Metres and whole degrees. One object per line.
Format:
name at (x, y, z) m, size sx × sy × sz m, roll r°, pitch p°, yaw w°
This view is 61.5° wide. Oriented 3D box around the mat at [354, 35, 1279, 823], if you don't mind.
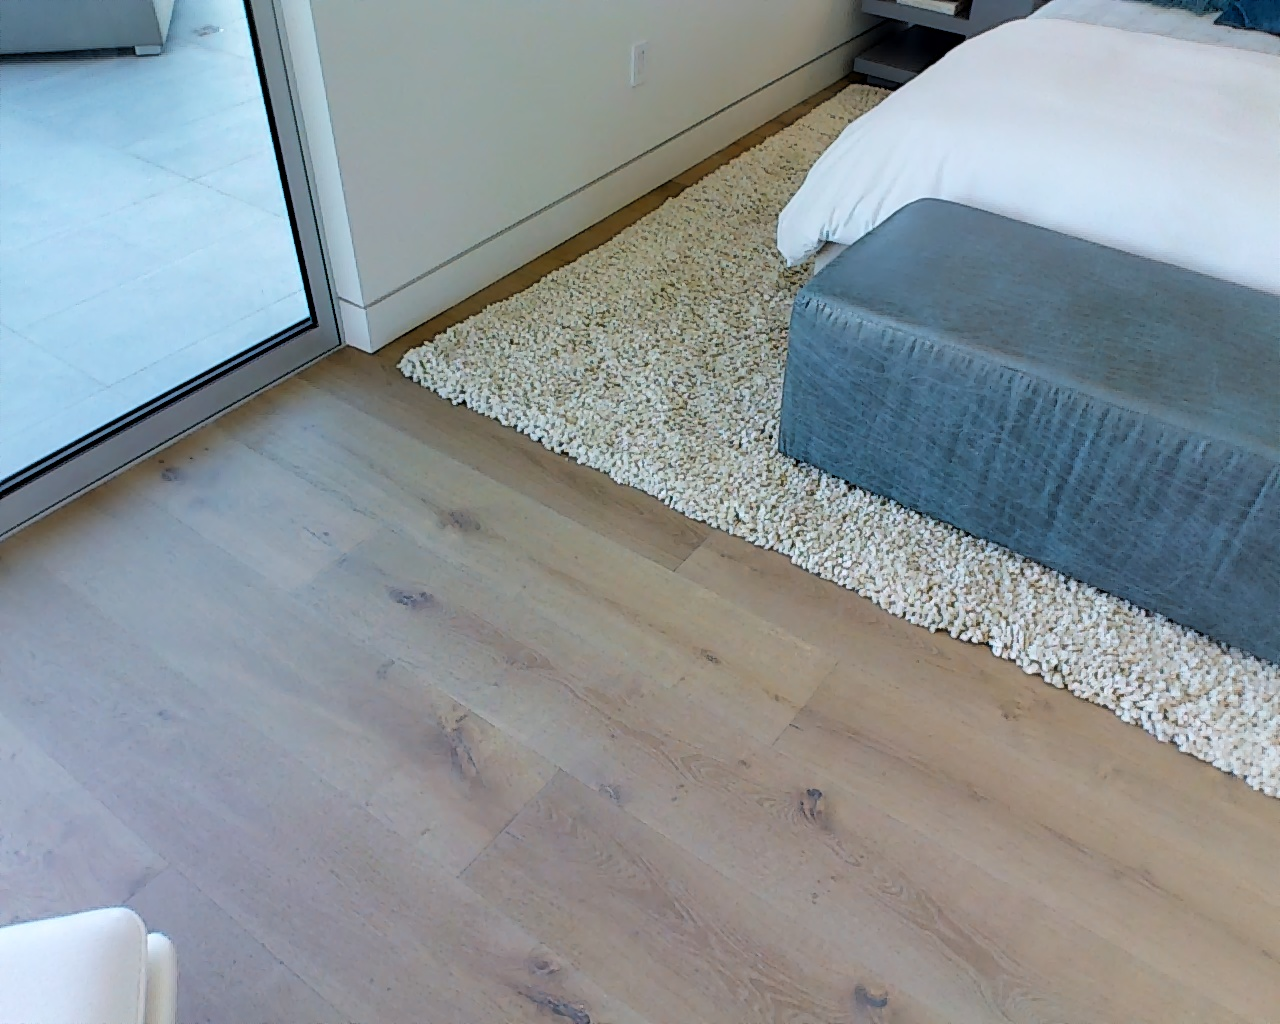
mat at (1.450, -0.530, 2.950) m, size 3.300 × 0.090 × 2.900 m, roll 27°, pitch 48°, yaw 26°
